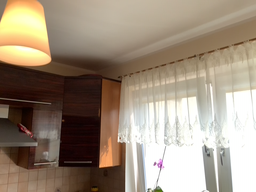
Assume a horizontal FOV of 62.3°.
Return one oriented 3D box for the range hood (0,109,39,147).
[{"bbox_3d":[-1.180,0.280,1.850,0.510,0.290,0.560,-9,-14,44],"label":"range hood"}]
